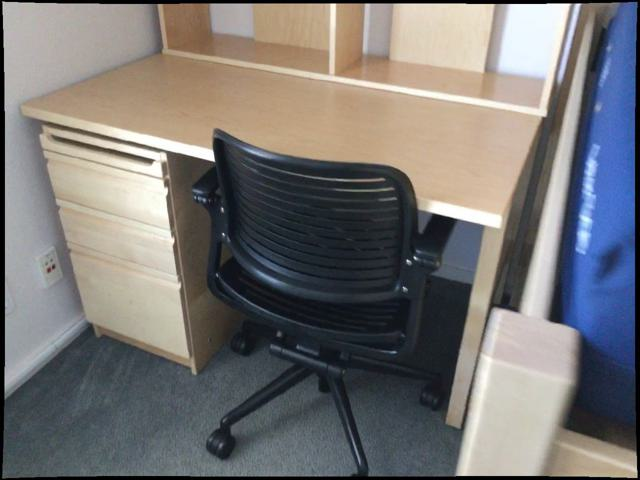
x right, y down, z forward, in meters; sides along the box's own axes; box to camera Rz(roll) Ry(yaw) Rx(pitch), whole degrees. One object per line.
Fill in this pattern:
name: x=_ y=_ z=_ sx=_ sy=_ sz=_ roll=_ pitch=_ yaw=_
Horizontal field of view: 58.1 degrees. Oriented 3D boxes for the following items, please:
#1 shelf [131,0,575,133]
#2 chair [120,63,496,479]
shelf: x=0.060 y=-0.852 z=1.630 sx=1.277 sy=0.832 sz=0.360 roll=13 pitch=35 yaw=21
chair: x=0.030 y=0.090 z=1.510 sx=0.599 sy=0.862 sz=0.690 roll=13 pitch=35 yaw=21
